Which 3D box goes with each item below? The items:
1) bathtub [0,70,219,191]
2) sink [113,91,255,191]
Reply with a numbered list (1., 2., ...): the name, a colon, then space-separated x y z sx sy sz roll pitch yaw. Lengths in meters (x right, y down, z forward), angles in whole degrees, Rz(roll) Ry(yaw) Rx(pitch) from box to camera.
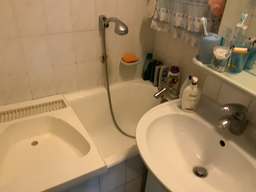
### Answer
1. bathtub: -0.240 0.370 1.390 1.390 0.610 0.700 -15 37 -27
2. sink: 0.280 0.250 0.870 0.470 0.180 0.600 -14 37 -26
